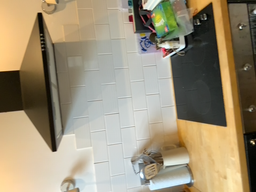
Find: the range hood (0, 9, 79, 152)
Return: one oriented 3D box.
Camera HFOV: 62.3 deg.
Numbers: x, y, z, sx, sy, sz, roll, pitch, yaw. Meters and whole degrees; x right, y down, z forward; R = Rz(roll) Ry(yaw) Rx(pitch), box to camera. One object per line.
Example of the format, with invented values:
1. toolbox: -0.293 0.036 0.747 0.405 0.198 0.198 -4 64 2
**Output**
1. range hood: -0.750 -0.040 1.050 0.440 0.930 0.590 167 97 -77
